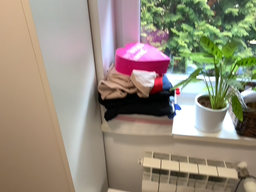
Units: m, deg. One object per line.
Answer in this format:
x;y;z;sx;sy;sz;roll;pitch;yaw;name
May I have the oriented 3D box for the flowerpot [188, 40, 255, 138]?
0.420;-0.030;0.970;0.210;0.390;0.200;4;32;7;flowerpot
